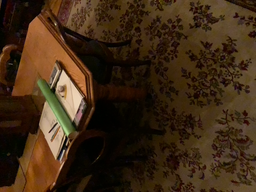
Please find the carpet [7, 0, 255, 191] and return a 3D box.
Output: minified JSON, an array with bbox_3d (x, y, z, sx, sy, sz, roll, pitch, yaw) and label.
[{"bbox_3d":[-0.490,0.630,2.460,3.610,0.030,4.690,45,119,36],"label":"carpet"}]
